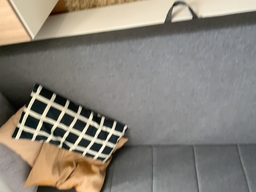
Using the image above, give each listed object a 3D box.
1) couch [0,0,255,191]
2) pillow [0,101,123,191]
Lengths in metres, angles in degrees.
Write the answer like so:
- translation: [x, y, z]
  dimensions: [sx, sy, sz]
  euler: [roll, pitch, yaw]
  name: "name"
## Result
- translation: [0.300, 0.050, 1.050]
  dimensions: [2.030, 0.720, 0.860]
  euler: [-4, 138, 12]
  name: "couch"
- translation: [-0.370, 0.320, 1.220]
  dimensions: [0.570, 0.330, 0.470]
  euler: [-4, 138, 11]
  name: "pillow"
